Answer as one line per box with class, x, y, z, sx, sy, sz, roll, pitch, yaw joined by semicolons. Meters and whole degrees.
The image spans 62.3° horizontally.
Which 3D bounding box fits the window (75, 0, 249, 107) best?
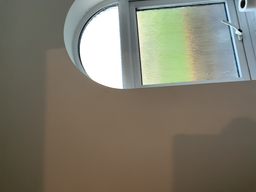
window;0.160;-0.270;1.270;0.100;0.920;0.610;81;-174;-72
